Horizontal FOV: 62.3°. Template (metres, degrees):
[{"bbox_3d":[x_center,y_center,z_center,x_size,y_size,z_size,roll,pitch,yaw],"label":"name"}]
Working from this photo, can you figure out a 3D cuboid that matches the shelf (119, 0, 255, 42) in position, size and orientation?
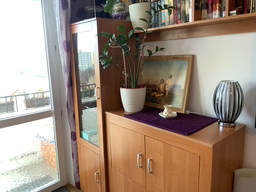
[{"bbox_3d":[0.600,-0.580,1.310,0.260,0.370,1.710,-11,15,-41],"label":"shelf"}]

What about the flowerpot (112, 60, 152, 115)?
[{"bbox_3d":[0.040,-0.090,1.830,0.270,0.430,0.200,-10,14,-39],"label":"flowerpot"}]
